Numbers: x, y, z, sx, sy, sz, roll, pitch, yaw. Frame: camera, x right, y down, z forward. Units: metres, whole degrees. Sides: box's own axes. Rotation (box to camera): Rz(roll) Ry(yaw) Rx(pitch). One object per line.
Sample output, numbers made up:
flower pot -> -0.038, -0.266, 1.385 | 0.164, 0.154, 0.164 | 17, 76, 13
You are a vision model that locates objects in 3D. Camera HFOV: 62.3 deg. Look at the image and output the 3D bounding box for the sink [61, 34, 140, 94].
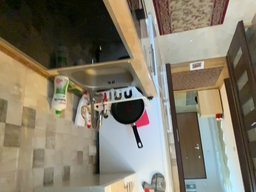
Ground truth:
sink -> -0.150, -0.180, 1.400 | 0.390, 0.180, 0.440 | -6, 163, 11
